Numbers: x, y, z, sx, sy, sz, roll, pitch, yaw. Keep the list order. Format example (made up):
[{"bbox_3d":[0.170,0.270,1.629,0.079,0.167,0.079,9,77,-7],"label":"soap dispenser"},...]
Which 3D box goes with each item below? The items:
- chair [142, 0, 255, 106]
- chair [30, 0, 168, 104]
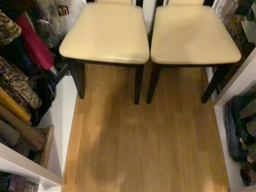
[{"bbox_3d":[0.340,-0.440,1.120,0.420,1.060,0.570,1,61,-2],"label":"chair"},{"bbox_3d":[-0.110,-0.450,1.110,0.470,1.060,0.580,1,62,-2],"label":"chair"}]
